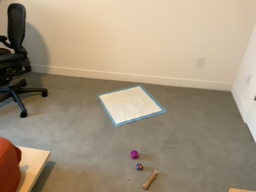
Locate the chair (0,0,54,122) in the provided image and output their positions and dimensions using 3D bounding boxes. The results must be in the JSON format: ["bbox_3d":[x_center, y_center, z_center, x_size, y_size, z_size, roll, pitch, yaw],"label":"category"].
[{"bbox_3d":[-1.280,-0.370,2.110,0.680,0.950,0.740,-20,40,-28],"label":"chair"}]
